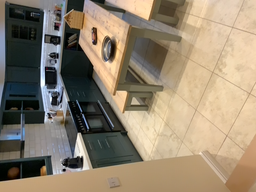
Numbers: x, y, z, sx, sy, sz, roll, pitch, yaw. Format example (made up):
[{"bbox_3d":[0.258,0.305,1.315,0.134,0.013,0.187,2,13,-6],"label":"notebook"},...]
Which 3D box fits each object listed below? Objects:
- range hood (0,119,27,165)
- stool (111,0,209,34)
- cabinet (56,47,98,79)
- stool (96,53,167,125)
[{"bbox_3d":[-2.020,0.770,3.680,0.790,0.470,0.320,52,133,52],"label":"range hood"},{"bbox_3d":[0.290,-1.290,2.890,1.700,0.450,0.370,52,133,51],"label":"stool"},{"bbox_3d":[-1.350,-0.850,5.570,0.600,0.910,0.580,51,133,52],"label":"cabinet"},{"bbox_3d":[-0.050,-0.200,3.500,1.690,0.450,0.400,52,134,51],"label":"stool"}]
